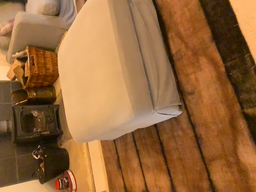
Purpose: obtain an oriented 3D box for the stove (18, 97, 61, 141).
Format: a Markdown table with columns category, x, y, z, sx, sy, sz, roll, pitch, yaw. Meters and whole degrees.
| category | x | y | z | sx | sy | sz | roll | pitch | yaw |
| --- | --- | --- | --- | --- | --- | --- | --- | --- | --- |
| stove | -1.130 | 0.290 | 2.680 | 0.380 | 0.390 | 0.430 | -33 | 65 | 49 |
